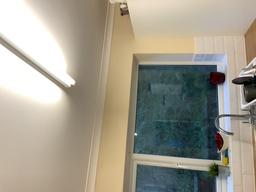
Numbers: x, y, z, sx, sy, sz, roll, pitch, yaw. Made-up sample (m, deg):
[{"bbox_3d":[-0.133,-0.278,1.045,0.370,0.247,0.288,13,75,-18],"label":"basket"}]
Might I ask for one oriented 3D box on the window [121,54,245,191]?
[{"bbox_3d":[0.570,0.310,2.300,0.120,1.190,1.610,59,-146,-73],"label":"window"}]
